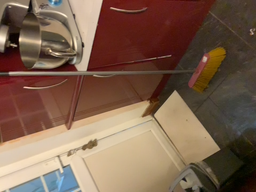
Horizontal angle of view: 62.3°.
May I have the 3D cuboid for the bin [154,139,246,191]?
[{"bbox_3d":[0.490,0.570,1.510,0.190,0.410,0.490,56,142,24],"label":"bin"}]
